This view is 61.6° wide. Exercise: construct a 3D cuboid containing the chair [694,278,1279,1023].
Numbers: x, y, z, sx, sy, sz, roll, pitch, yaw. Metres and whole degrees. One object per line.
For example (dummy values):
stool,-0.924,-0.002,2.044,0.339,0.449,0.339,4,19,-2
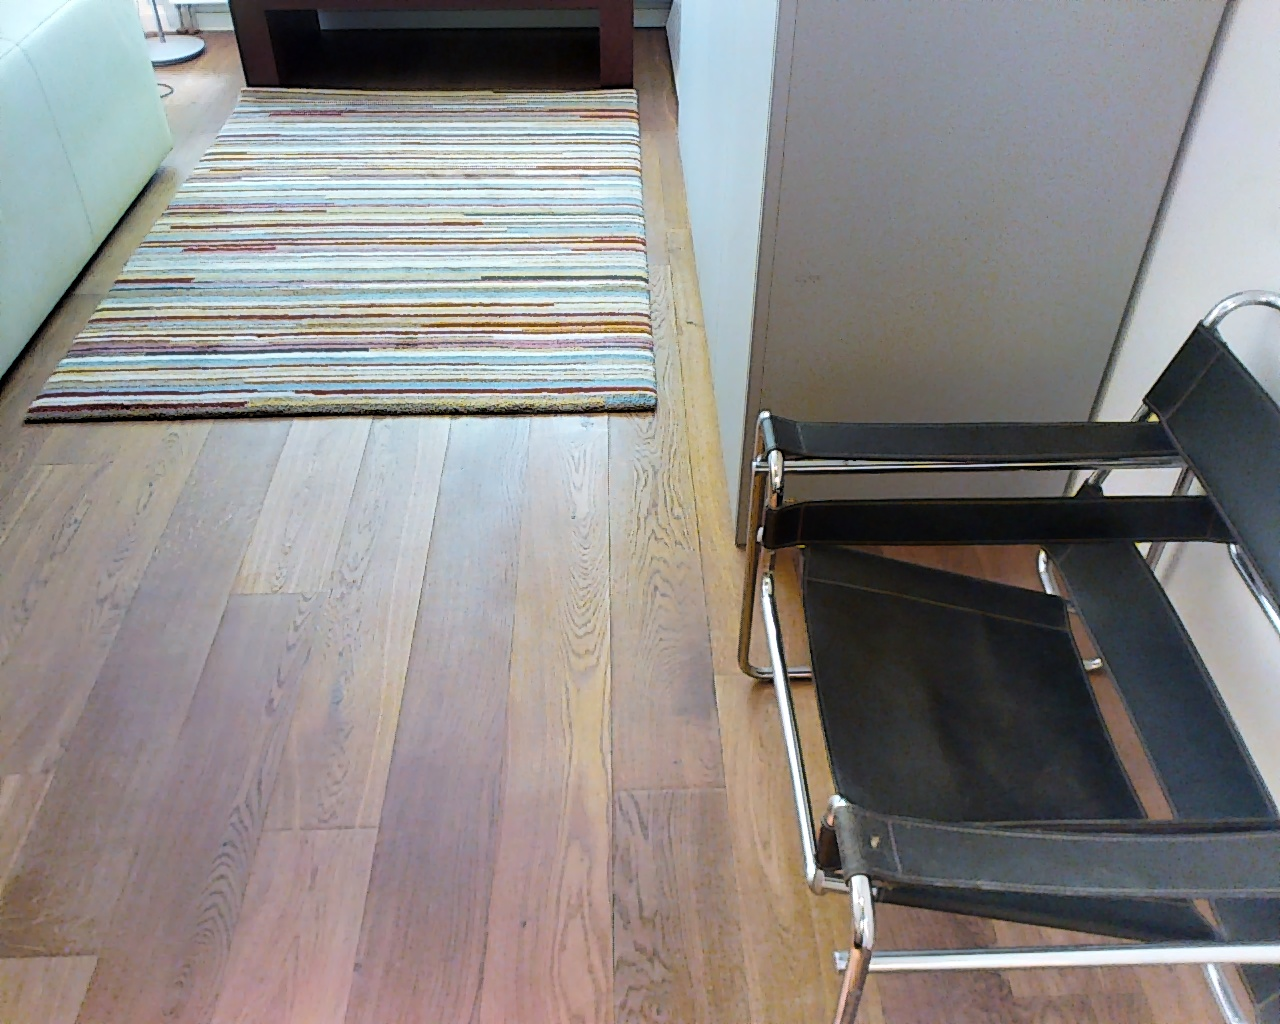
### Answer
chair,0.480,0.250,1.340,0.740,0.700,0.910,-1,41,-1
